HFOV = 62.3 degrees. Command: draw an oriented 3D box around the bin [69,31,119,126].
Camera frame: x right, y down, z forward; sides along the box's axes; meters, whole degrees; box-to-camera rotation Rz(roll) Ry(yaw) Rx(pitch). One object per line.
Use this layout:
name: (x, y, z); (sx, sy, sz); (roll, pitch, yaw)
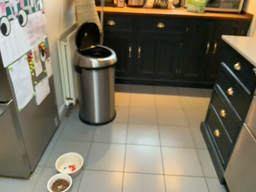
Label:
bin: (-0.300, -0.160, 2.030); (0.340, 0.790, 0.380); (6, 30, 4)
